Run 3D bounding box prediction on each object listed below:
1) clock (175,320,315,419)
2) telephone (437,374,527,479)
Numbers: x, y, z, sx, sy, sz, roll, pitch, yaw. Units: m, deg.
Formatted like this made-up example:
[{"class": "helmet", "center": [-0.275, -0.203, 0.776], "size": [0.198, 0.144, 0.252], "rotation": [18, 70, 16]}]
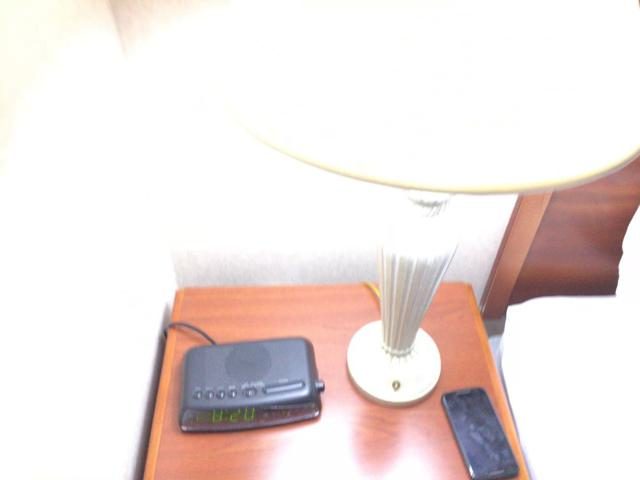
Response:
[{"class": "clock", "center": [-0.110, 0.200, 0.900], "size": [0.200, 0.060, 0.130], "rotation": [-2, 45, 0]}, {"class": "telephone", "center": [0.240, 0.280, 0.870], "size": [0.080, 0.040, 0.140], "rotation": [-9, 46, -6]}]
